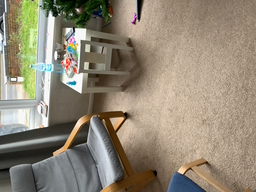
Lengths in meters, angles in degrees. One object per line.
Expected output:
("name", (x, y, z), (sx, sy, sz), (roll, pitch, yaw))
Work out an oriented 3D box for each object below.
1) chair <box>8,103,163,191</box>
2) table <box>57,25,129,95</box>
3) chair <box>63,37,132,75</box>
("chair", (-0.430, 0.630, 1.860), (0.860, 0.940, 0.700), (-54, 52, 39))
("table", (-0.380, -0.370, 2.140), (0.570, 0.450, 0.570), (26, 112, 49))
("chair", (-0.280, -0.360, 1.950), (0.350, 0.510, 0.290), (18, 106, 50))
